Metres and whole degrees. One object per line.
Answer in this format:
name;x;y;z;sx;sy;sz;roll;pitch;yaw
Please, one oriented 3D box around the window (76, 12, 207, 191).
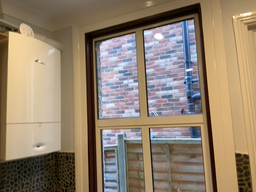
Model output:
window;0.050;0.220;1.590;0.930;1.490;0.120;-6;-7;23
